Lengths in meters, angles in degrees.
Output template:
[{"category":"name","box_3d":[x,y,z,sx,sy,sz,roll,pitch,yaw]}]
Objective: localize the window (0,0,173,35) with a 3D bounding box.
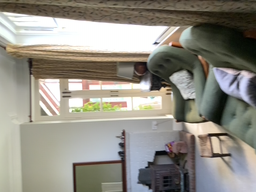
[{"category":"window","box_3d":[-0.540,-0.970,2.610,0.830,1.960,0.160,173,96,-81]}]

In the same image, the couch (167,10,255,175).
[{"category":"couch","box_3d":[0.830,-0.060,1.600,0.820,0.820,0.890,-139,48,-78]}]

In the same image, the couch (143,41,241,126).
[{"category":"couch","box_3d":[0.690,-0.120,2.560,0.810,0.820,0.850,162,107,-81]}]

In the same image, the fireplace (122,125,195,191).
[{"category":"fireplace","box_3d":[0.480,1.370,3.490,0.570,1.050,1.670,176,93,-81]}]
